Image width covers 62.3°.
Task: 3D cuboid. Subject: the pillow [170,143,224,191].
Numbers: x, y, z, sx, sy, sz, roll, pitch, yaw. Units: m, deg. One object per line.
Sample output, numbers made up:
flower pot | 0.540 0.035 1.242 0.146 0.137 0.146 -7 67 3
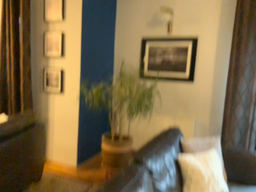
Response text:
pillow | 0.660 0.690 1.950 0.380 0.230 0.750 6 8 23
